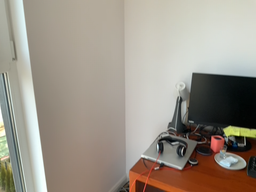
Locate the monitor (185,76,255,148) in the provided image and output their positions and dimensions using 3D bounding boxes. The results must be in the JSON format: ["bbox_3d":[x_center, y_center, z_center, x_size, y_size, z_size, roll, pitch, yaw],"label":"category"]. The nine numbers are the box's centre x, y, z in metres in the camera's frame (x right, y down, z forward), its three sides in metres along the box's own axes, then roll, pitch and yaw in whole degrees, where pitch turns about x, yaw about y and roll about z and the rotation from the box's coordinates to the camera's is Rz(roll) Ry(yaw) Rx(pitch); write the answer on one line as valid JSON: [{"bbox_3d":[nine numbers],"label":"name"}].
[{"bbox_3d":[0.640,0.100,1.310,0.530,0.410,0.040,6,17,19],"label":"monitor"}]
